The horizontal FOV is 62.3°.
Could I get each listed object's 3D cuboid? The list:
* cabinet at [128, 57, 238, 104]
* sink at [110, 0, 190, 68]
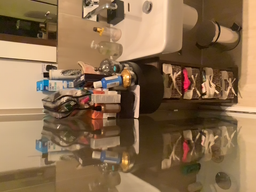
[{"bbox_3d":[0.380,-0.080,1.400,0.310,0.700,0.240,3,92,57],"label":"cabinet"},{"bbox_3d":[0.090,-0.480,1.120,0.480,0.150,0.610,2,91,57],"label":"sink"}]
